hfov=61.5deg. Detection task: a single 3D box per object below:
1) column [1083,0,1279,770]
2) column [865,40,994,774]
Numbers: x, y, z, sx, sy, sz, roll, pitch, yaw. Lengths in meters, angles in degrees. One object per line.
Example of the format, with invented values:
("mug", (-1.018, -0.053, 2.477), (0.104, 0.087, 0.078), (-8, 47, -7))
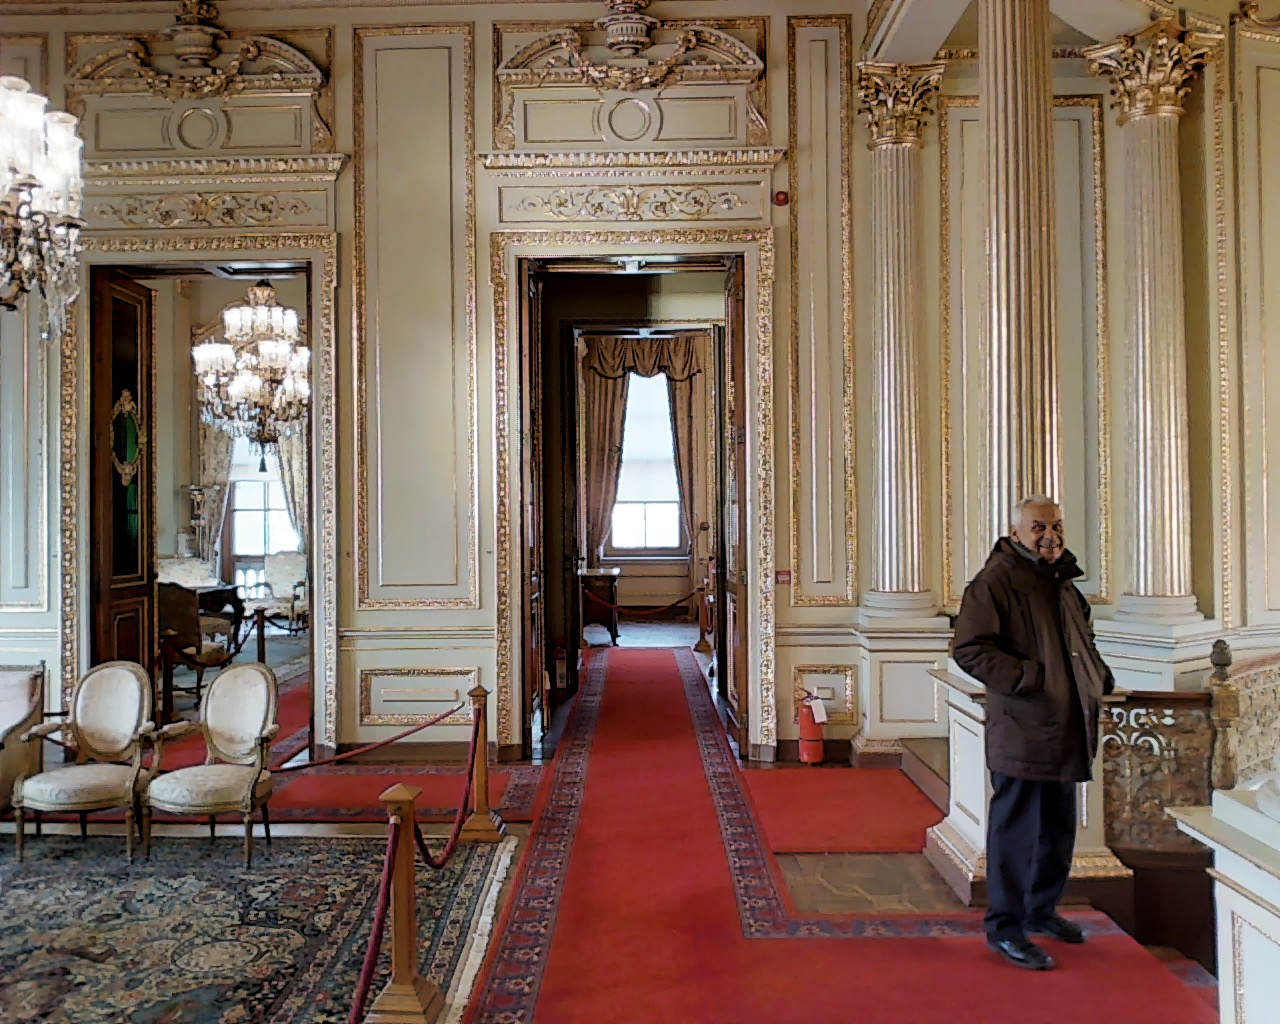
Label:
("column", (3.418, -0.780, 6.760), (0.840, 4.532, 0.780), (-1, 0, -32))
("column", (1.899, -0.670, 7.100), (0.700, 4.712, 0.370), (-1, 0, 2))
